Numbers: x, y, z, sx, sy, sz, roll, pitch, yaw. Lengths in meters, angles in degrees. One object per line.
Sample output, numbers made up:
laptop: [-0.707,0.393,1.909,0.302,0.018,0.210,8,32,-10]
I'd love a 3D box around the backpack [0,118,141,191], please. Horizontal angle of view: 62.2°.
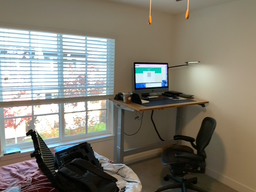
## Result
backpack: [-0.470,0.550,1.790,0.910,0.450,0.790,6,10,25]

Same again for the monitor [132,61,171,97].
monitor: [0.350,-0.230,3.090,0.620,0.490,0.040,-1,14,-35]
